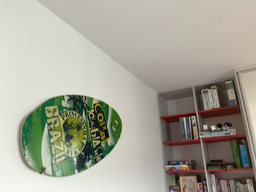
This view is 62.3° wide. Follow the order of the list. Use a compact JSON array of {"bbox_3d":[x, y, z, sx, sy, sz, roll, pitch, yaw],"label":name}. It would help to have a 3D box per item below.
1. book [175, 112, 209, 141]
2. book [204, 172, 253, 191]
[{"bbox_3d":[0.860,0.420,2.810,0.310,0.290,0.430,-12,-21,27],"label":"book"},{"bbox_3d":[1.180,1.070,2.490,0.490,0.310,0.170,-11,-20,25],"label":"book"}]
